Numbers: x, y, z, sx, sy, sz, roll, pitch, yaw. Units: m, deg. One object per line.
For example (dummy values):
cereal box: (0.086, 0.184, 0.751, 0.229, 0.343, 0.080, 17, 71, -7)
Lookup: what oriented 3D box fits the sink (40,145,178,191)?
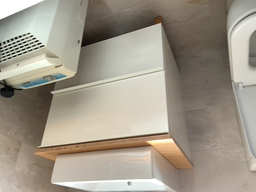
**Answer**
sink: (-0.050, 0.380, 0.990, 0.470, 0.130, 0.460, -10, 148, 20)
